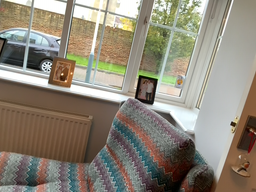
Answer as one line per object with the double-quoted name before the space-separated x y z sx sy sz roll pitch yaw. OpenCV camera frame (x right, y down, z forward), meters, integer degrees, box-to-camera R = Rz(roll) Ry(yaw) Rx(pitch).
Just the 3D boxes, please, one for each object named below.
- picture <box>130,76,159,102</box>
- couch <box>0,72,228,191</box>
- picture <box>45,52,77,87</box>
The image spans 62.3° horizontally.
"picture" 0.130 -0.060 1.740 0.200 0.160 0.130 13 12 -4
"couch" -0.300 0.450 1.030 0.870 0.860 0.860 9 13 -23
"picture" -0.520 -0.200 1.660 0.180 0.230 0.100 13 0 -4
